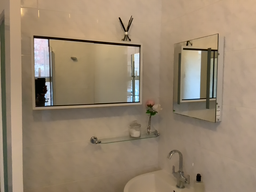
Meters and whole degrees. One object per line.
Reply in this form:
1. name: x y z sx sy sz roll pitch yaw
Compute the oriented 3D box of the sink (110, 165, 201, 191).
1. sink: 0.200 0.720 1.460 0.470 0.180 0.620 -2 5 -25
